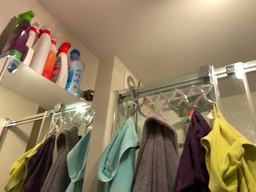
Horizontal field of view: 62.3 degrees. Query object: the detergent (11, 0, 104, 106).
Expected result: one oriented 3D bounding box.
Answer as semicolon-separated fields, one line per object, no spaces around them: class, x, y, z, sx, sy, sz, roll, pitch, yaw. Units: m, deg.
detergent;-0.310;-0.190;1.060;0.140;0.330;0.390;-12;-33;27
